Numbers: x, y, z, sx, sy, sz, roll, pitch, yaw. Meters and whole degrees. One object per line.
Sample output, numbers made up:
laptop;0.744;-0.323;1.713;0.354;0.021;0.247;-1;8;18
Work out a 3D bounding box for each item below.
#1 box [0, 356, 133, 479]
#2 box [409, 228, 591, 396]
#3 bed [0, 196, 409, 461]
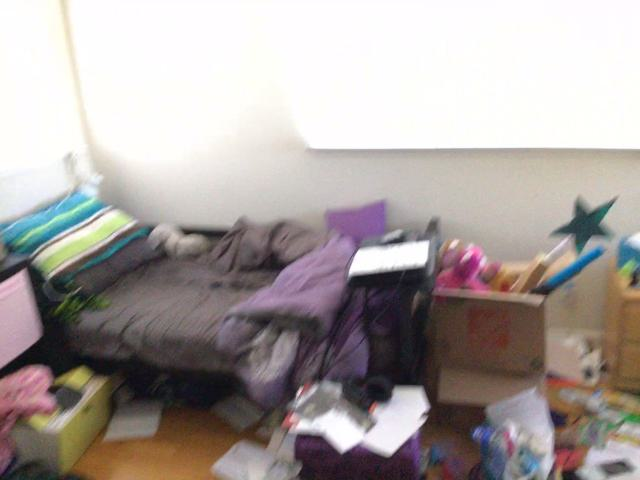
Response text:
box;-1.070;0.720;2.400;0.330;0.290;0.440;0;15;17
box;0.720;0.260;2.370;0.620;0.500;0.530;0;15;16
bed;-0.570;0.290;2.780;1.820;0.750;1.150;0;15;16
